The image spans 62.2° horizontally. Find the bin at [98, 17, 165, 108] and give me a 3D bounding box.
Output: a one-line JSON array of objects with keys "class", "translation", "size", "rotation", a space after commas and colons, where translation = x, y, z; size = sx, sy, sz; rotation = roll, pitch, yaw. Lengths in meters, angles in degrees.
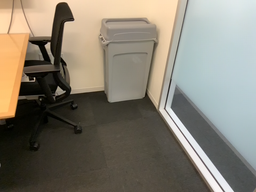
[{"class": "bin", "translation": [0.000, -0.340, 2.250], "size": [0.570, 0.880, 0.290], "rotation": [-7, 36, -17]}]

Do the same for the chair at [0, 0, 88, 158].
[{"class": "chair", "translation": [-0.750, -0.190, 1.770], "size": [0.680, 1.080, 0.720], "rotation": [-7, 36, -17]}]
